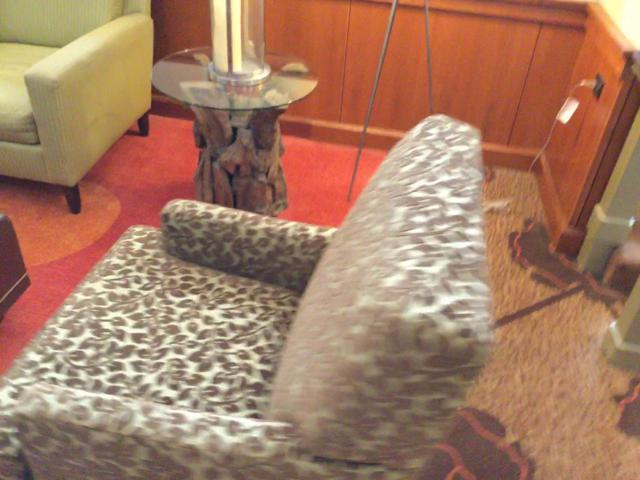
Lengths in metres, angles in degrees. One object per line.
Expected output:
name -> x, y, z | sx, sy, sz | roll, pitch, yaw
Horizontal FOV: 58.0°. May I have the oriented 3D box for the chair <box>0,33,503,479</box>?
chair -> -0.210, 0.200, 1.310 | 0.900, 0.950, 0.760 | 13, 36, 4
